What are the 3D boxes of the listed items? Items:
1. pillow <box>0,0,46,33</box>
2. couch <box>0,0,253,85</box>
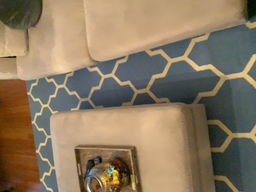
[{"bbox_3d":[-0.790,-0.640,1.540,0.270,0.230,0.260,-4,93,35],"label":"pillow"},{"bbox_3d":[-0.430,-0.660,1.380,2.000,0.810,0.950,-6,92,35],"label":"couch"}]
